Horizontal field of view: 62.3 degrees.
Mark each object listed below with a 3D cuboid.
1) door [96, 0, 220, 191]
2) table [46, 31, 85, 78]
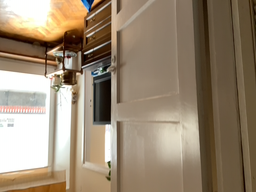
[{"bbox_3d":[0.050,-0.280,1.150,0.150,2.010,0.870,3,173,-27],"label":"door"},{"bbox_3d":[-1.090,-0.690,3.670,0.380,0.610,0.650,5,172,-44],"label":"table"}]
